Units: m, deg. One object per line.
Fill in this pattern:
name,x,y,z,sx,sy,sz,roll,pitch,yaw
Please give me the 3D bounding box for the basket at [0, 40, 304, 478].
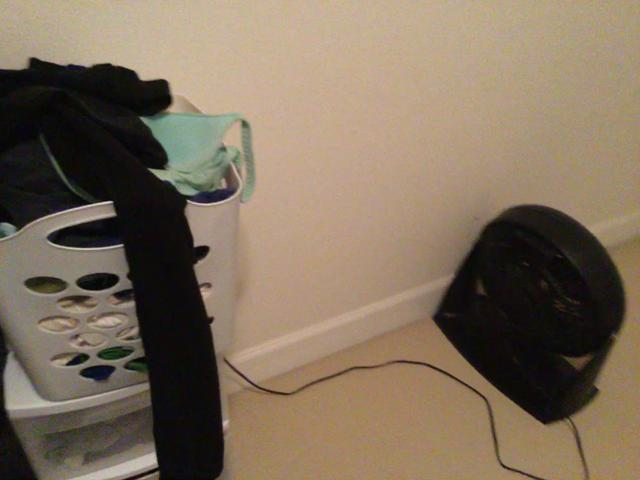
basket,-0.340,-0.020,0.890,0.420,0.340,0.480,-23,42,-19
